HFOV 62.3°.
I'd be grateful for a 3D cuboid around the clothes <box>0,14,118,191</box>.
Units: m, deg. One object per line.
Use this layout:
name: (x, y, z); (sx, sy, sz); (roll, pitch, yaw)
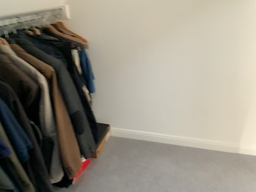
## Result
clothes: (-0.570, 0.380, 0.780); (0.340, 1.070, 2.260); (7, 27, 15)
